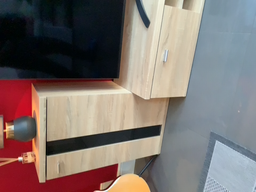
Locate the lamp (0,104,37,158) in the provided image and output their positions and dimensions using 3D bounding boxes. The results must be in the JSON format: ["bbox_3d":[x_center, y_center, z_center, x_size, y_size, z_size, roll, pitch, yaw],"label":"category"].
[{"bbox_3d":[-0.690,0.190,1.160,0.190,0.330,0.220,33,121,53],"label":"lamp"}]
